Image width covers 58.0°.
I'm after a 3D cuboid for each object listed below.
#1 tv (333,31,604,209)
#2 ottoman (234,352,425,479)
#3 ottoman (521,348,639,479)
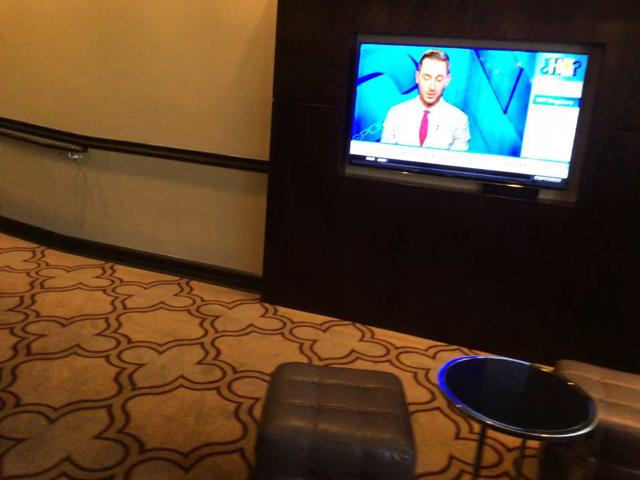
[{"bbox_3d":[0.760,-0.680,3.160,1.290,0.800,0.300,10,15,21],"label":"tv"},{"bbox_3d":[0.040,0.730,1.940,0.540,0.460,0.510,6,14,6],"label":"ottoman"},{"bbox_3d":[1.030,0.760,2.080,0.520,0.470,0.520,10,15,21],"label":"ottoman"}]
